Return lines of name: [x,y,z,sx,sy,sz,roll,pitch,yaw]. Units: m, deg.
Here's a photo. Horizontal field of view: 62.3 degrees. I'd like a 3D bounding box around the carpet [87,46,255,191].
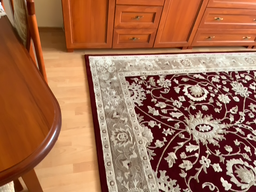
carpet: [1.220,0.190,1.840,2.950,0.060,2.040,-3,48,-14]
